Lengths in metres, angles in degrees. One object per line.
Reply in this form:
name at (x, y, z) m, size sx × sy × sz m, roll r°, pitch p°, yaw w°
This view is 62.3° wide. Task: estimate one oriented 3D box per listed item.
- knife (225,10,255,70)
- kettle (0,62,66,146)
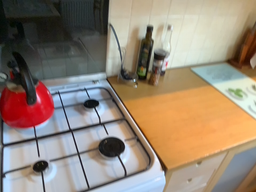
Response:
knife at (0.810, -0.360, 1.370) m, size 0.190 × 0.330 × 0.150 m, roll -12°, pitch 40°, yaw -25°
kettle at (-0.360, 0.020, 0.790) m, size 0.200 × 0.200 × 0.200 m, roll -11°, pitch 40°, yaw -24°
